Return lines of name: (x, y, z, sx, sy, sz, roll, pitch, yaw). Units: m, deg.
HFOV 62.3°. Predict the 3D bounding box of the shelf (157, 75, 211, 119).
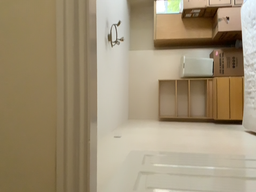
shelf: (1.150, 0.020, 4.450, 0.310, 1.060, 0.880, 5, -94, -82)
